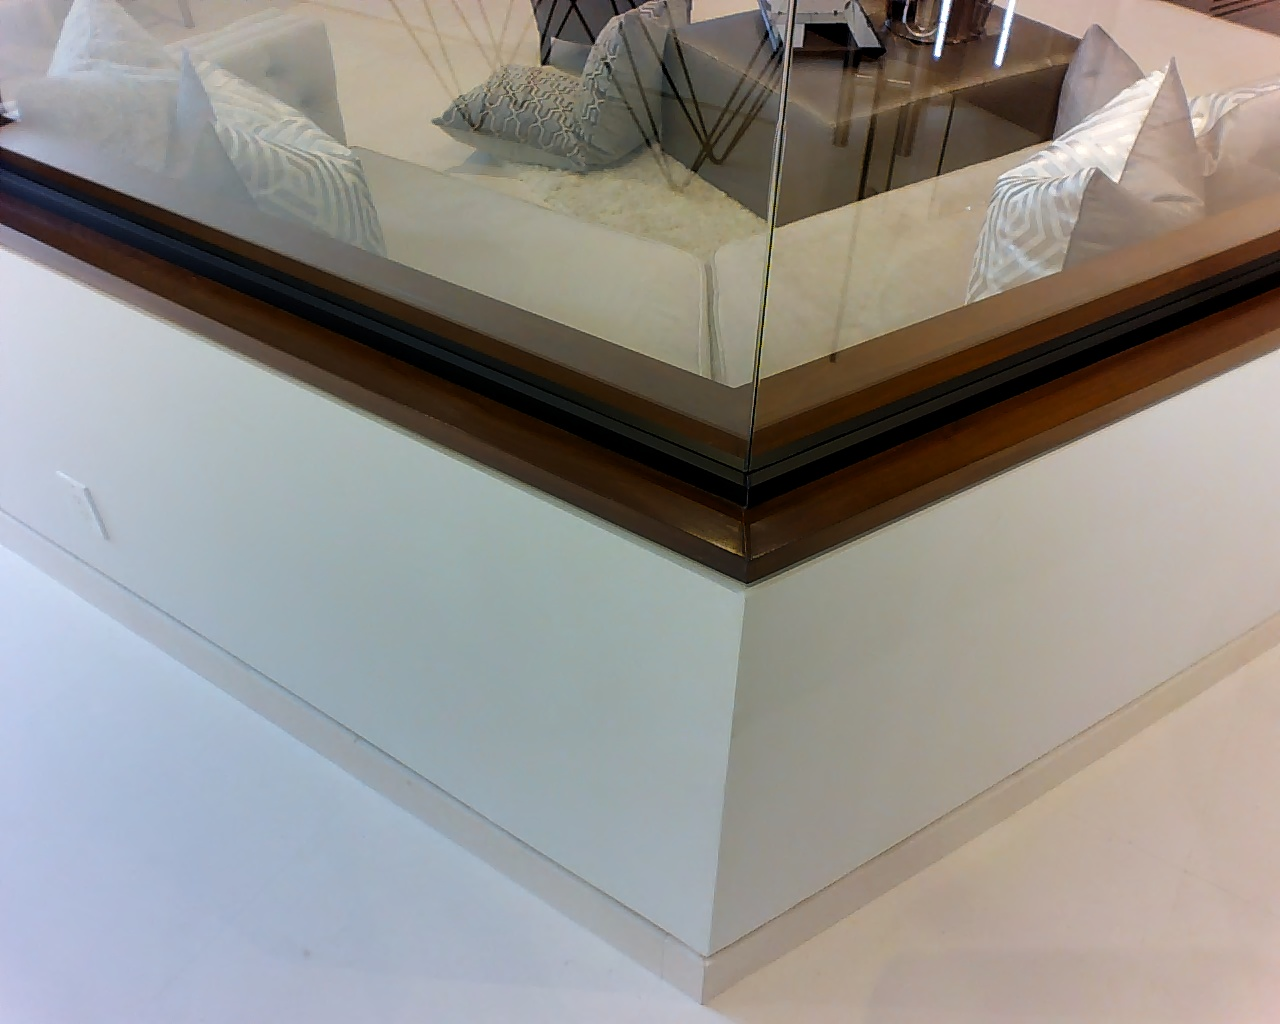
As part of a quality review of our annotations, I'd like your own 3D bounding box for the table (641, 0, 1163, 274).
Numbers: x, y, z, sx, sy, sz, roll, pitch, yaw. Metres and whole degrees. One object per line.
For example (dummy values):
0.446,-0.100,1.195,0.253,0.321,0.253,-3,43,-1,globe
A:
0.800,-1.360,3.500,1.260,0.460,1.000,-21,46,-22,table
